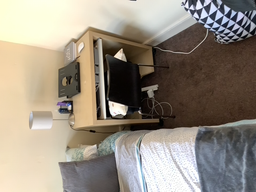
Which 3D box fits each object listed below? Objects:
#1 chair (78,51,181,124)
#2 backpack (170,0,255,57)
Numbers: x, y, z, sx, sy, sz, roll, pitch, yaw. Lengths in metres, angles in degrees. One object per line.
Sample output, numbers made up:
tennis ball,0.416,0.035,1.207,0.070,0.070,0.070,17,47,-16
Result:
chair,-0.010,-0.020,1.930,0.610,0.670,0.430,-25,66,50
backpack,0.580,-0.520,1.320,0.350,0.520,0.370,-17,73,52
